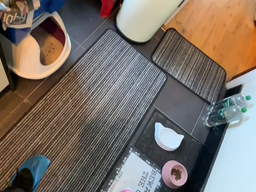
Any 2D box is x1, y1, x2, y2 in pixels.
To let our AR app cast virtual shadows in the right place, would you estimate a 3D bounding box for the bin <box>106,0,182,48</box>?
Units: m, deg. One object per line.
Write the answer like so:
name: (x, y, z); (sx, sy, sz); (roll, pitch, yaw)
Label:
bin: (0.150, -0.630, 1.280); (0.320, 0.640, 0.250); (38, 62, -7)
